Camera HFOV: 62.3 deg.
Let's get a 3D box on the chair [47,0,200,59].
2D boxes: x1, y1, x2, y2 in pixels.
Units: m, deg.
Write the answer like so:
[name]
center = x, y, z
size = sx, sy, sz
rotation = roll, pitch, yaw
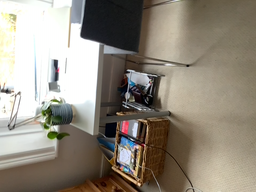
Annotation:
[chair]
center = 0.000, -0.480, 1.360
size = 0.460, 0.860, 0.400
rotation = 14, 103, 49
